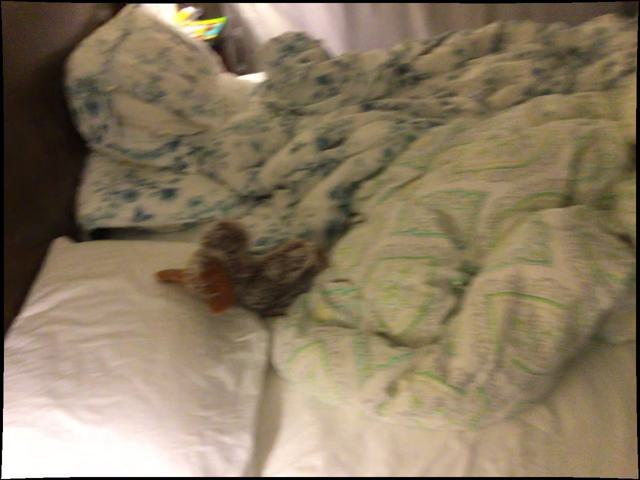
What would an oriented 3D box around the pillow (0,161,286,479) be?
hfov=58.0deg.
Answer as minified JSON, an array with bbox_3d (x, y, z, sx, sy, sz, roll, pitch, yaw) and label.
[{"bbox_3d":[-0.329,0.190,0.990,0.479,0.180,0.851,-9,39,-4],"label":"pillow"}]

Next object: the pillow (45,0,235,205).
[{"bbox_3d":[-0.479,-0.491,1.720,0.369,0.350,0.771,-9,39,-4],"label":"pillow"}]

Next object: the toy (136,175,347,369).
[{"bbox_3d":[-0.140,0.050,1.080,0.329,0.180,0.270,-9,39,-4],"label":"toy"}]
